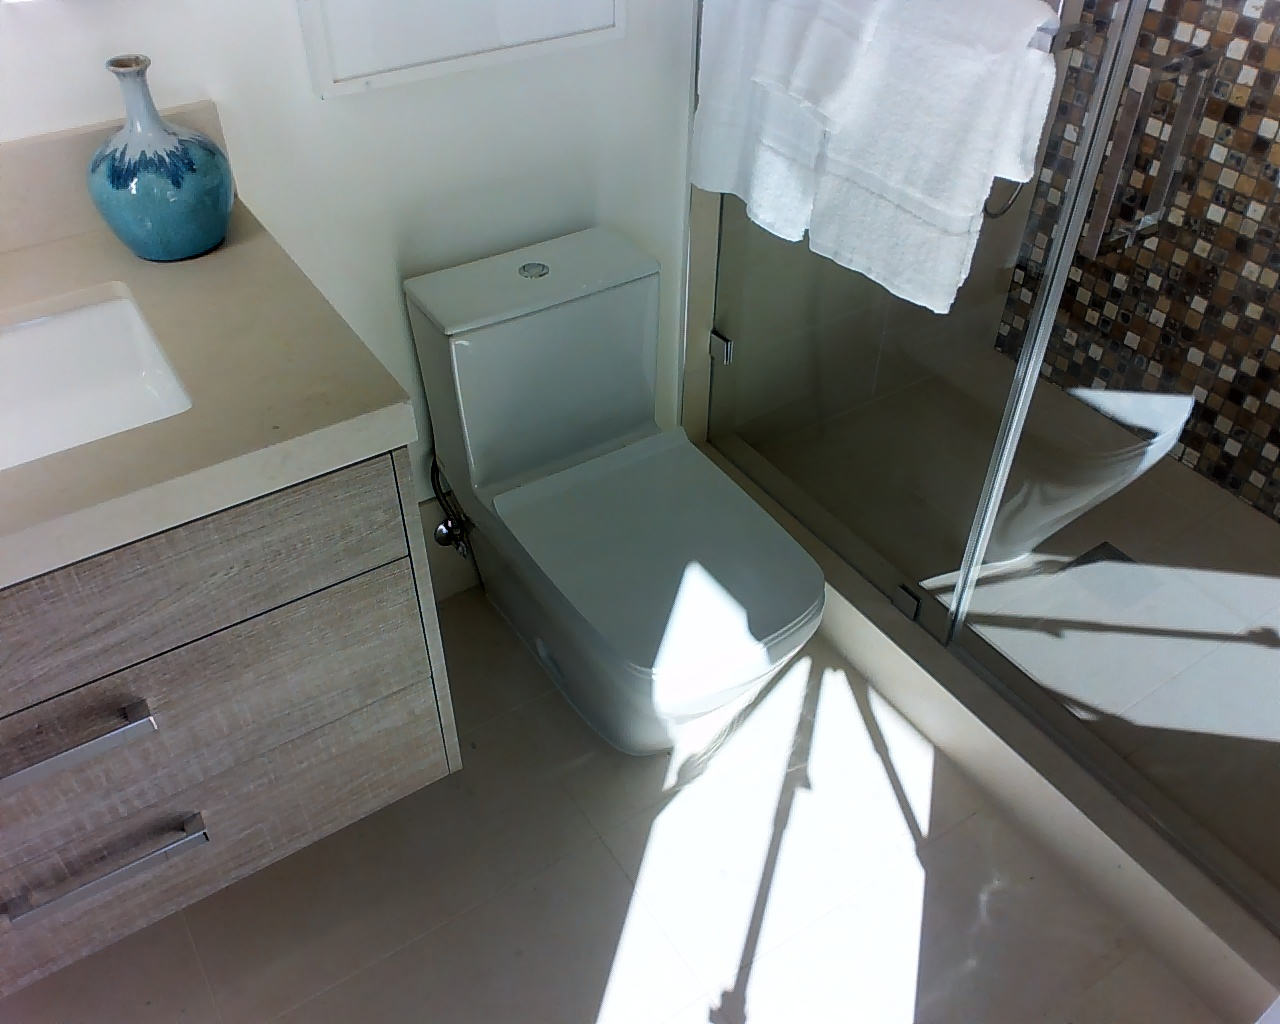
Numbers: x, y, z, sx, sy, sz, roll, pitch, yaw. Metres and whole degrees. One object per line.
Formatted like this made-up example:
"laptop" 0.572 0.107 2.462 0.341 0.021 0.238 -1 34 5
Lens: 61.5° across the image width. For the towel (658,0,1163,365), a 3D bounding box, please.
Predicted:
"towel" 0.320 -0.610 1.550 0.220 0.470 0.710 -23 47 -25
